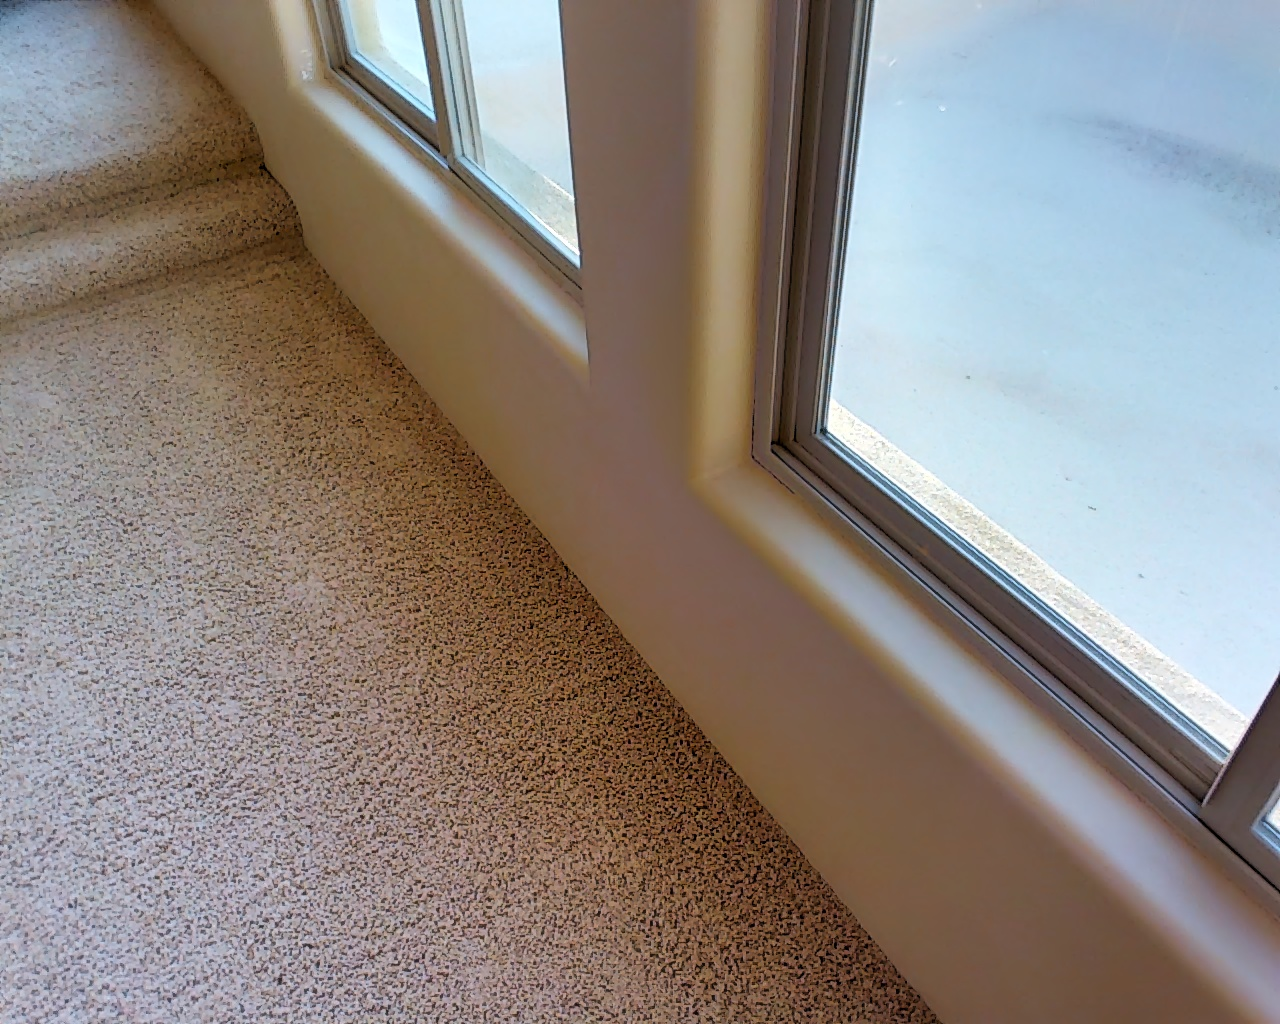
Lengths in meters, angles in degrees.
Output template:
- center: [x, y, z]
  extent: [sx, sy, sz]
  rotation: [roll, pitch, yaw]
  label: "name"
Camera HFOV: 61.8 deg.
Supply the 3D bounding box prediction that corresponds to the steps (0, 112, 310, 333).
- center: [-1.841, -0.670, 2.890]
  extent: [1.790, 0.280, 0.320]
  rotation: [-24, 48, -22]
  label: "steps"
